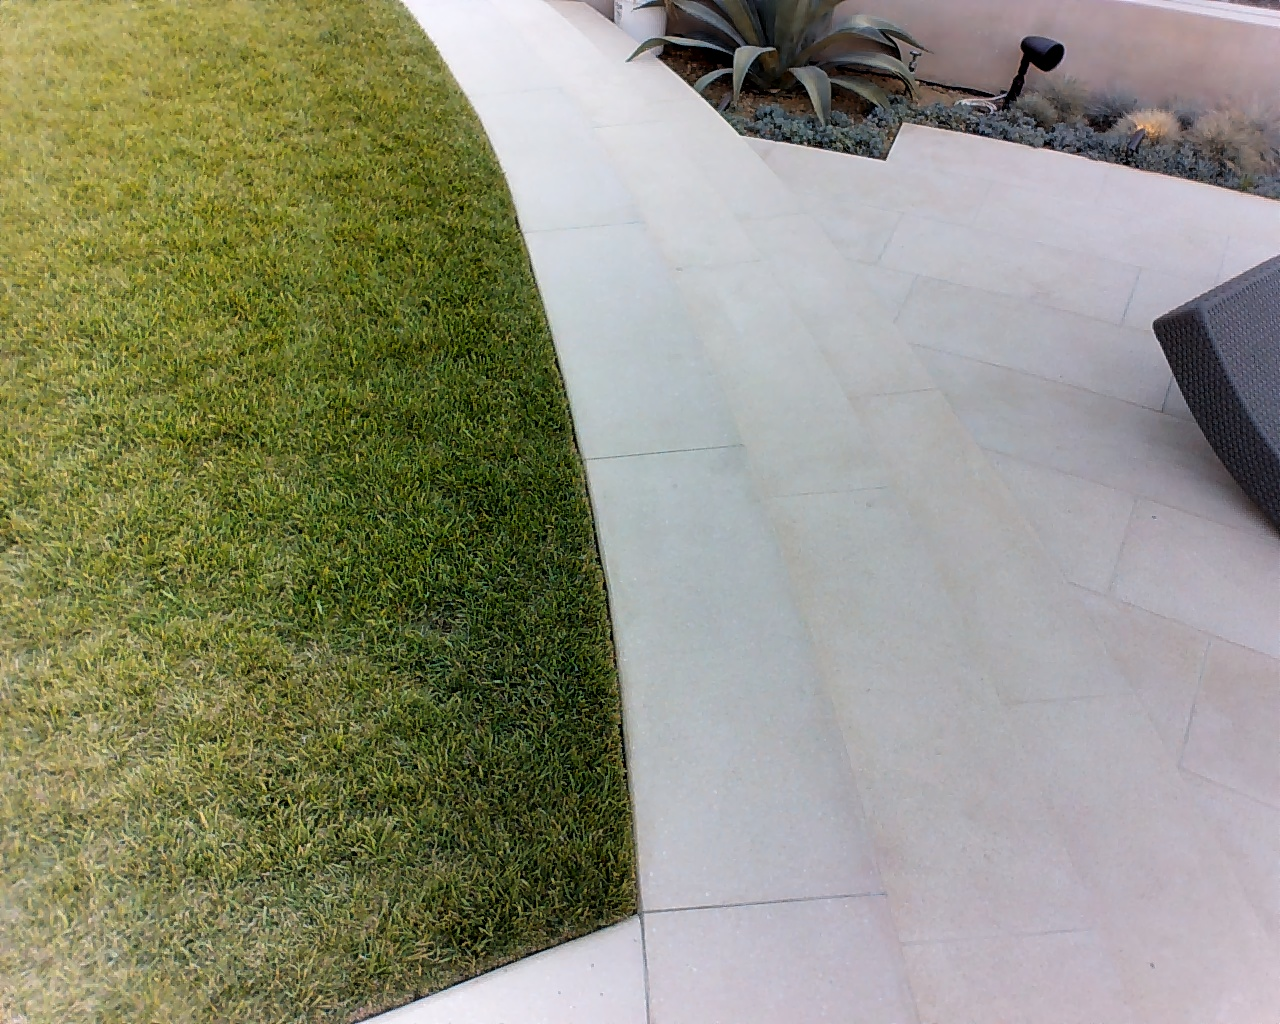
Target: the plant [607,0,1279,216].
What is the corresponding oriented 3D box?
[{"bbox_3d":[1.860,-2.200,5.000,3.850,0.860,1.170,12,43,12],"label":"plant"}]
